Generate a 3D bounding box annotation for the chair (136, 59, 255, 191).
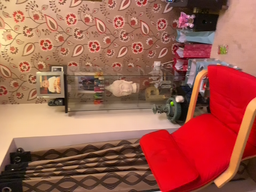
[{"bbox_3d":[0.640,0.200,1.670,0.730,0.940,0.820,-121,32,-63],"label":"chair"}]
